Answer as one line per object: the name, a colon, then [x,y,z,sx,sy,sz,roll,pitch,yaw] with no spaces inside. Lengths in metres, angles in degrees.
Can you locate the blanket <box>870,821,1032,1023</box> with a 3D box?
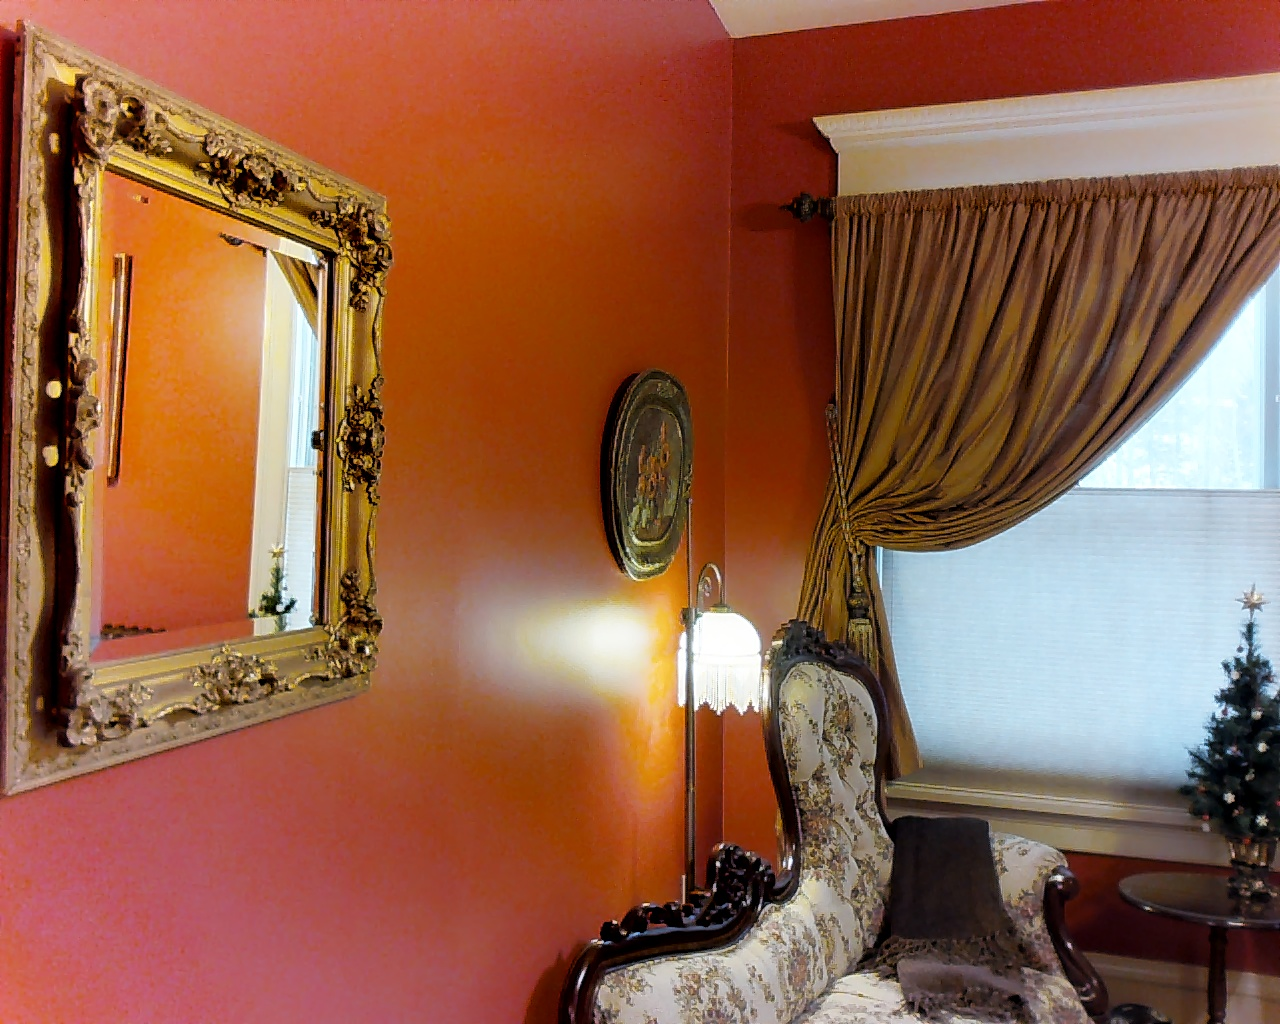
blanket: [0.740,1.000,2.640,0.290,0.320,0.570,1,-1,7]

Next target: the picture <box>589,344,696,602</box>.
picture: [0.020,-0.080,2.650,0.060,0.560,0.630,1,-1,18]

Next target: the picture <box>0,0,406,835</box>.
picture: [-0.470,-0.090,1.240,0.080,0.750,0.610,1,-1,18]
